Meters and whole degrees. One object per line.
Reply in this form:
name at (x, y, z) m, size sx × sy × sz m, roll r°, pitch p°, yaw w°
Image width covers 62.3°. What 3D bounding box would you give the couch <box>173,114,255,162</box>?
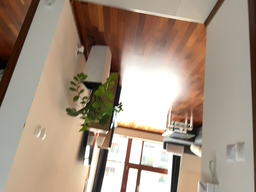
couch at (1.960, 1.140, 5.160) m, size 0.990 × 0.690 × 2.390 m, roll 10°, pitch 160°, yaw -2°
